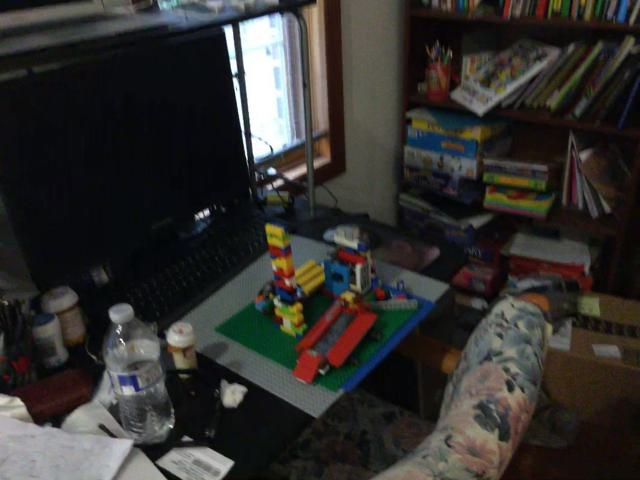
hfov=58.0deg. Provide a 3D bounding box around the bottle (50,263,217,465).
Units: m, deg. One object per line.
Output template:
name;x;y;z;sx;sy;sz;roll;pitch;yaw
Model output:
bottle;-0.230;0.150;0.730;0.130;0.190;0.110;14;31;36

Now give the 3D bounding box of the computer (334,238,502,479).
computer;0.240;0.310;1.390;0.280;0.530;0.250;14;31;36
